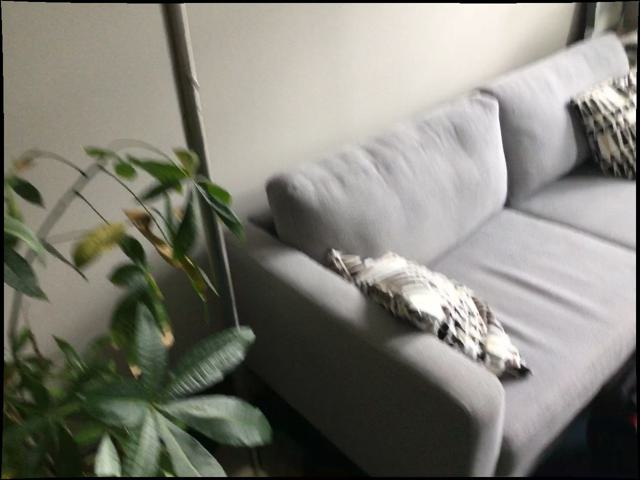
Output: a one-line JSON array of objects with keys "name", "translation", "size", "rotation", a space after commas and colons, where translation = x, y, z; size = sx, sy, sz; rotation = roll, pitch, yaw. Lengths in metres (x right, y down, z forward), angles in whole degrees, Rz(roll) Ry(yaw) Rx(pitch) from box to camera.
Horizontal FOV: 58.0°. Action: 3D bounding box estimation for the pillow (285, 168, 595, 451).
[{"name": "pillow", "translation": [0.259, 0.120, 1.400], "size": [0.390, 0.290, 0.580], "rotation": [-29, 43, -30]}]
